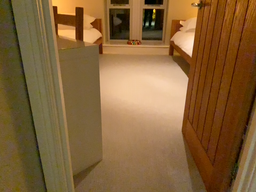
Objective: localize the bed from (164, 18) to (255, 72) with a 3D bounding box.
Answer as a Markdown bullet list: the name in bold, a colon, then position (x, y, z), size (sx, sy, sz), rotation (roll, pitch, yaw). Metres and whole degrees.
- **bed**: position (1.350, -1.010, 3.740), size (1.140, 0.540, 2.130), rotation (1, 24, 2)
